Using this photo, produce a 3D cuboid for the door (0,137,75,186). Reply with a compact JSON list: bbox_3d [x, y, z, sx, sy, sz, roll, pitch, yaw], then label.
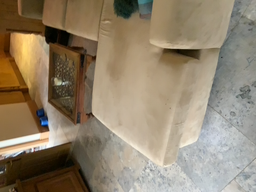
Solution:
[{"bbox_3d":[-1.770,1.070,3.050,0.040,2.000,0.710,49,130,33],"label":"door"}]
